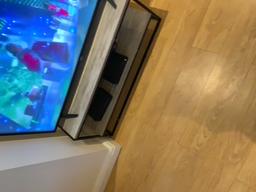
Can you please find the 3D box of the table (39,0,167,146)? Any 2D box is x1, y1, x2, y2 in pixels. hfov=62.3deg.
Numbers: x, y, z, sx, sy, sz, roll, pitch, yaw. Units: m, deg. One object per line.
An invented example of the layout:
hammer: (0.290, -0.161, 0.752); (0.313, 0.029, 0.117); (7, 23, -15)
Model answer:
table: (-0.210, -0.230, 1.640); (0.470, 0.460, 1.070); (29, 103, 33)

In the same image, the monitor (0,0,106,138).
monitor: (-0.490, -0.290, 1.160); (0.060, 0.650, 1.150); (30, 104, 33)
